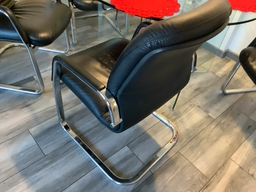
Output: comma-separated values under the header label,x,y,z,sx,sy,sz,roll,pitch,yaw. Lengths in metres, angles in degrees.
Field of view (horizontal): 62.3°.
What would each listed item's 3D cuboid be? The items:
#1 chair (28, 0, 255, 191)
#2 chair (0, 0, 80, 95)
label,x,y,z,sx,sy,sz,roll,pitch,yaw
chair,0.000,-0.120,1.090,0.590,0.910,0.660,-32,58,-32
chair,-0.770,-0.590,1.420,0.690,0.930,0.580,10,46,1
